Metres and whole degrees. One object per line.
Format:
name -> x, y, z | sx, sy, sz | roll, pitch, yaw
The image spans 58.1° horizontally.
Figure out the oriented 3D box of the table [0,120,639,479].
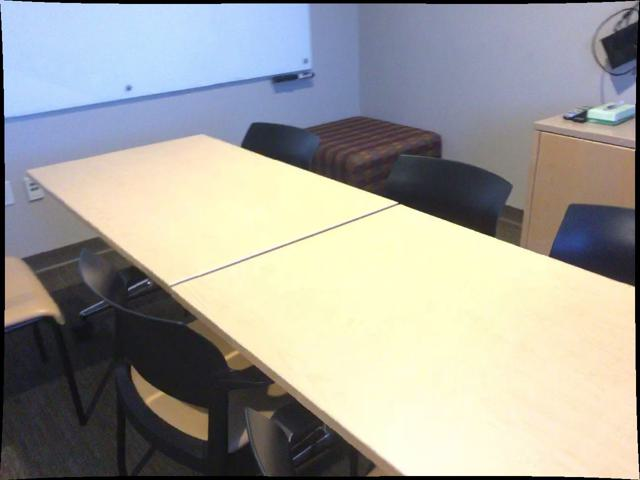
table -> 0.020, 0.321, 1.660 | 1.079, 0.751, 2.449 | -22, 32, -37
